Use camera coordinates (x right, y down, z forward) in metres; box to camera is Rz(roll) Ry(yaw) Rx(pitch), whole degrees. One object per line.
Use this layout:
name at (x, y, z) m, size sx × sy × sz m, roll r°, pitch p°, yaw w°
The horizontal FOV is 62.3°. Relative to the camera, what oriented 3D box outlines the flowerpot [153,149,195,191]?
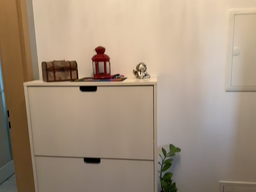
flowerpot at (0.300, 0.810, 1.470) m, size 0.250 × 0.820 × 0.250 m, roll 0°, pitch 10°, yaw 8°
